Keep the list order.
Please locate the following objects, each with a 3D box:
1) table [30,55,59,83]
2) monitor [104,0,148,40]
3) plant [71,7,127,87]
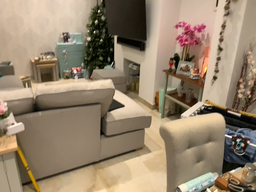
[{"bbox_3d":[-1.880,-0.620,4.770,0.500,0.490,0.410,-10,25,-28],"label":"table"},{"bbox_3d":[-0.070,-1.290,3.520,0.070,0.660,1.110,-15,21,-34],"label":"monitor"},{"bbox_3d":[-0.660,-1.170,4.900,1.010,1.610,0.730,20,28,38],"label":"plant"}]
